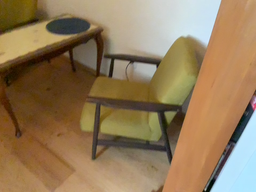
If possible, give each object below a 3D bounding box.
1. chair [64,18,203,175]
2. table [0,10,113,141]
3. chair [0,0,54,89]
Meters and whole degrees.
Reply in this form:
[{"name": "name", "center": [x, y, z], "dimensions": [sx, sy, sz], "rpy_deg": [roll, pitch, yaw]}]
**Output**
[{"name": "chair", "center": [0.050, -0.010, 1.510], "dimensions": [0.670, 0.800, 0.640], "rpy_deg": [9, 39, 6]}, {"name": "table", "center": [-0.710, -0.270, 1.910], "dimensions": [0.550, 0.630, 1.090], "rpy_deg": [28, 44, 27]}, {"name": "chair", "center": [-1.310, -0.640, 2.230], "dimensions": [0.610, 0.770, 0.640], "rpy_deg": [24, 42, 23]}]
